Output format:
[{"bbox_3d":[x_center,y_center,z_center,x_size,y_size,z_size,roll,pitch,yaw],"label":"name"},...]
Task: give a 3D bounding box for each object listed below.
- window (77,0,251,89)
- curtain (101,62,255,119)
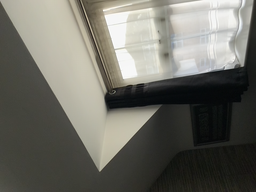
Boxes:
[{"bbox_3d":[0.240,-0.690,1.460,0.120,1.140,1.400,-89,-13,-47],"label":"window"},{"bbox_3d":[0.390,-0.030,1.760,0.140,1.180,0.280,-88,-13,-48],"label":"curtain"}]
